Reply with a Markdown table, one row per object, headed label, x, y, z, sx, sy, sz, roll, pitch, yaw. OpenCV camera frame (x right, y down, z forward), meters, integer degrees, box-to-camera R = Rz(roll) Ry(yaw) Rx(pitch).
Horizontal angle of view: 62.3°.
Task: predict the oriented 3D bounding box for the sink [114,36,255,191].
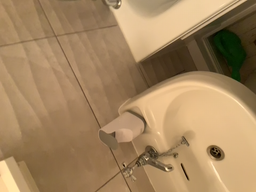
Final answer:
| label | x | y | z | sx | sy | sz | roll | pitch | yaw |
| --- | --- | --- | --- | --- | --- | --- | --- | --- | --- |
| sink | 0.280 | 0.210 | 0.670 | 0.440 | 0.190 | 0.620 | -24 | 92 | 49 |
